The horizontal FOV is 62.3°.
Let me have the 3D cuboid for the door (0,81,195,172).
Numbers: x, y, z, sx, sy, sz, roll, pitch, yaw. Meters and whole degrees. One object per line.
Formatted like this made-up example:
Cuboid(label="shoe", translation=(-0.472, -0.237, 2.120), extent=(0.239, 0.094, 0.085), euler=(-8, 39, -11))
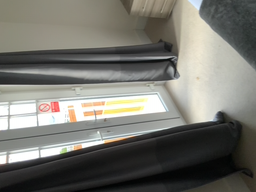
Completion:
Cuboid(label="door", translation=(-0.370, 0.200, 2.100), extent=(0.090, 2.090, 0.760), euler=(112, 145, -45))
